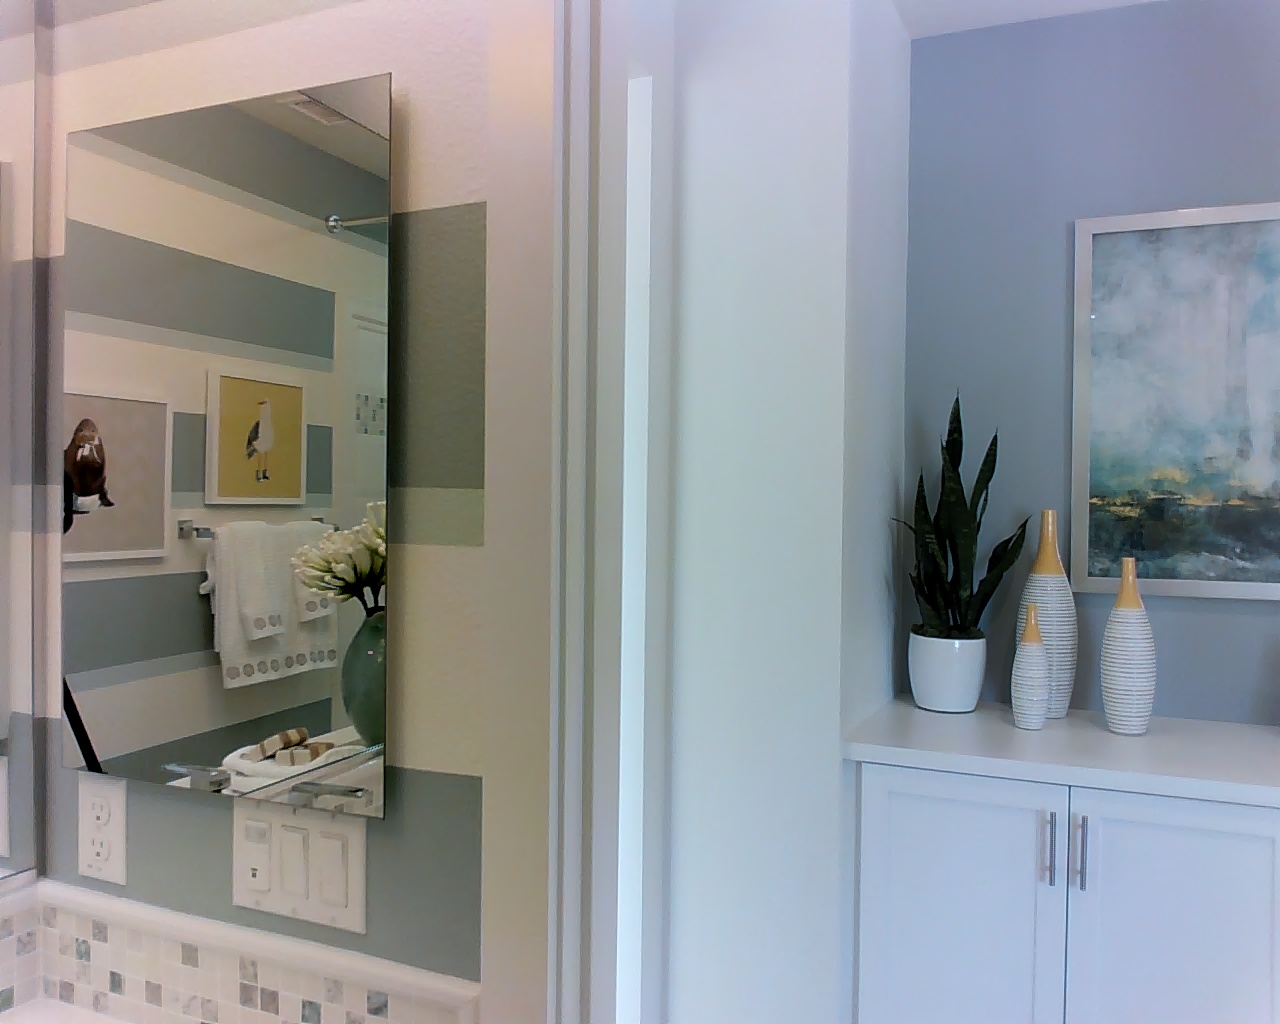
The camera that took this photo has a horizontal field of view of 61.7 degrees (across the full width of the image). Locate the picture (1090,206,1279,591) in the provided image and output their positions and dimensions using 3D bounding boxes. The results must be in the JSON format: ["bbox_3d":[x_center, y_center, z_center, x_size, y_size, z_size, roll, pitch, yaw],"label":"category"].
[{"bbox_3d":[1.599,-0.270,2.560,0.960,0.920,0.050,1,1,26],"label":"picture"}]

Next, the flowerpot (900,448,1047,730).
[{"bbox_3d":[0.860,0.180,2.750,0.310,0.670,0.310,1,1,26],"label":"flowerpot"}]
